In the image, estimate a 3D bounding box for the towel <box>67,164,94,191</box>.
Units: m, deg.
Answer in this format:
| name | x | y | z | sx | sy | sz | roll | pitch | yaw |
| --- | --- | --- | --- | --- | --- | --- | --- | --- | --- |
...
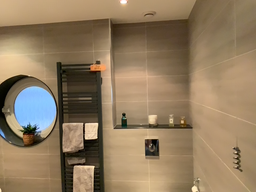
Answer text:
| name | x | y | z | sx | sy | sz | roll | pitch | yaw |
| --- | --- | --- | --- | --- | --- | --- | --- | --- | --- |
| towel | -0.540 | 1.020 | 2.420 | 0.280 | 0.470 | 0.060 | -2 | 3 | 7 |
